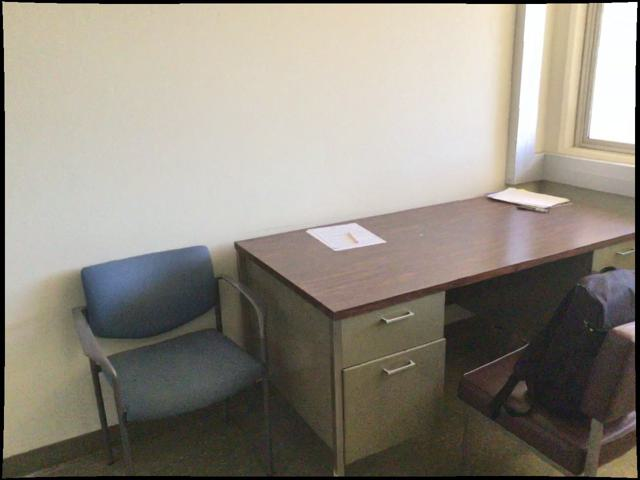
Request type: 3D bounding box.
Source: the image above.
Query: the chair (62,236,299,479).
[{"bbox_3d":[-0.499,0.451,2.070,0.619,0.702,0.540,-13,21,-25],"label":"chair"}]

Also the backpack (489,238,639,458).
[{"bbox_3d":[0.768,0.281,1.660,0.399,0.421,0.350,-13,21,-25],"label":"backpack"}]

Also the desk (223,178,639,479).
[{"bbox_3d":[0.509,0.281,2.380,1.537,0.692,0.830,-13,21,-25],"label":"desk"}]

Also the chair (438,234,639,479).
[{"bbox_3d":[0.768,0.471,1.790,0.549,0.762,0.570,-13,21,-25],"label":"chair"}]
